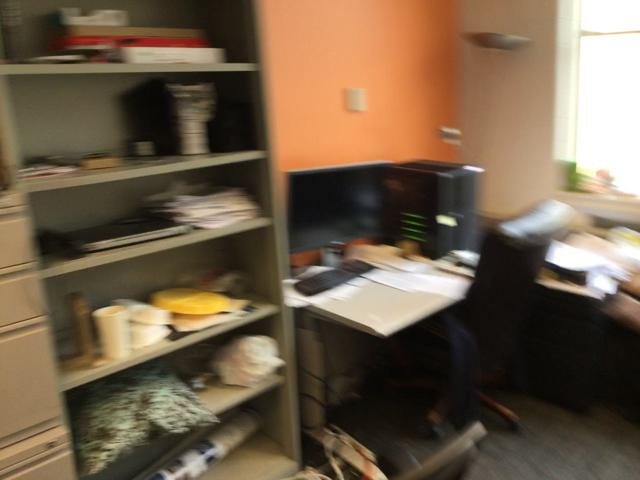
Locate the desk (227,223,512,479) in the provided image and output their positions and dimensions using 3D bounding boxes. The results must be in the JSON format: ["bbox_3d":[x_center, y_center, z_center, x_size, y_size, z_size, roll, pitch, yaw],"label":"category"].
[{"bbox_3d":[0.240,0.450,2.680,0.840,0.830,0.980,11,18,44],"label":"desk"}]

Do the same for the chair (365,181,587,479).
[{"bbox_3d":[0.670,0.320,2.580,0.630,1.060,0.690,-13,17,-43],"label":"chair"}]
